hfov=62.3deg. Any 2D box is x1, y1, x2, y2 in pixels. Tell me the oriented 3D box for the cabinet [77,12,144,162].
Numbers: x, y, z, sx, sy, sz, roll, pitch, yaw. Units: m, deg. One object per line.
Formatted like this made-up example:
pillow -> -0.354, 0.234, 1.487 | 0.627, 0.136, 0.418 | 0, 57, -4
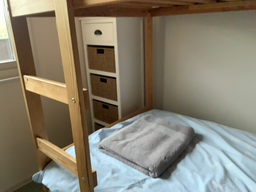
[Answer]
cabinet -> -0.120, -0.080, 1.800 | 0.400, 1.150, 0.320 | 14, 24, 40
